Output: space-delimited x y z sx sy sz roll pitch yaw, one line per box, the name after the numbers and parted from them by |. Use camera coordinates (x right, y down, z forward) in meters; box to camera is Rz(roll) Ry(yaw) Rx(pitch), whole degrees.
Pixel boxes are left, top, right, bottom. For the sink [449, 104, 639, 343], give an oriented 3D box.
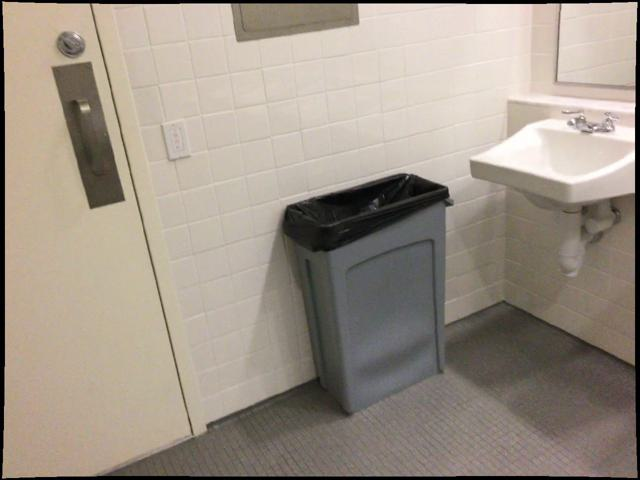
0.808 -0.100 1.990 0.449 0.611 0.540 -18 24 -25 | sink

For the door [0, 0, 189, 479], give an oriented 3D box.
-0.977 -0.010 1.530 0.908 1.884 0.070 -18 24 -25 | door
